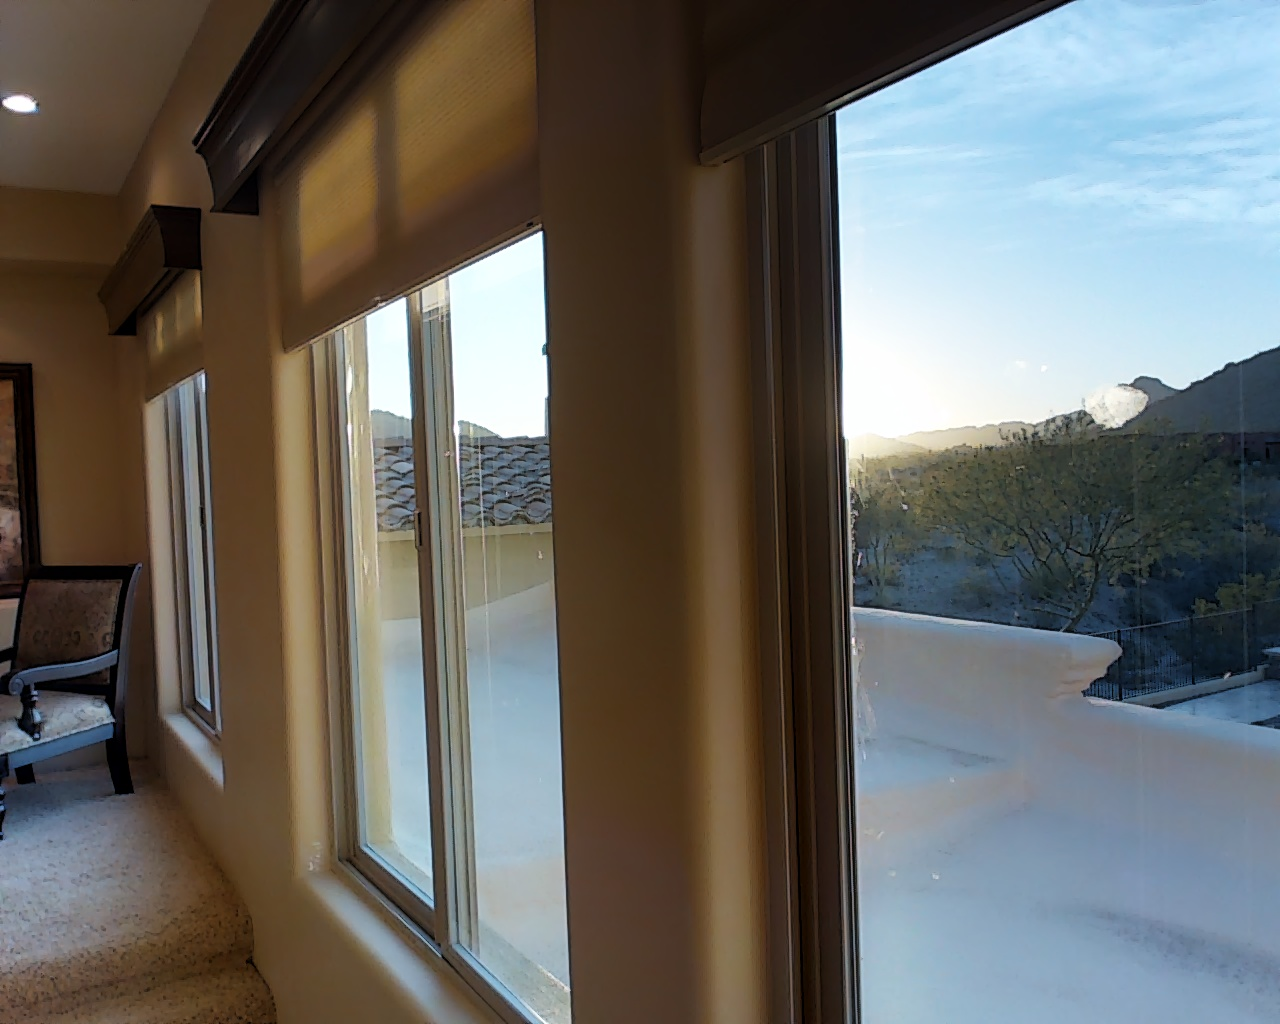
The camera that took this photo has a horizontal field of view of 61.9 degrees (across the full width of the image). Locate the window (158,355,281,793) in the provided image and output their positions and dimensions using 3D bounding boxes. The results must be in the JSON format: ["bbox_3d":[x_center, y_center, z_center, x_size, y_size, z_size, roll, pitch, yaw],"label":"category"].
[{"bbox_3d":[-1.700,0.200,4.230,0.120,1.470,1.480,-3,3,-32],"label":"window"}]

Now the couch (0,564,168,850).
[{"bbox_3d":[-2.600,0.740,4.390,0.790,0.980,0.850,-1,2,21],"label":"couch"}]

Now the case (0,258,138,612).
[{"bbox_3d":[-3.310,-0.340,4.940,1.660,1.620,0.490,-3,3,-32],"label":"case"}]
